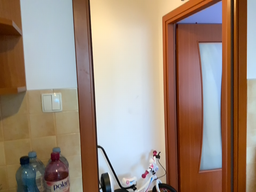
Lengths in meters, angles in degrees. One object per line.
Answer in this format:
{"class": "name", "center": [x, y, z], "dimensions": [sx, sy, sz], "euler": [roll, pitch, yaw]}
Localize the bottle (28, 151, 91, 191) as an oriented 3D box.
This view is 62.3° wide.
{"class": "bottle", "center": [-0.250, 0.410, 0.790], "dimensions": [0.180, 0.280, 0.340], "euler": [-4, 6, -19]}
